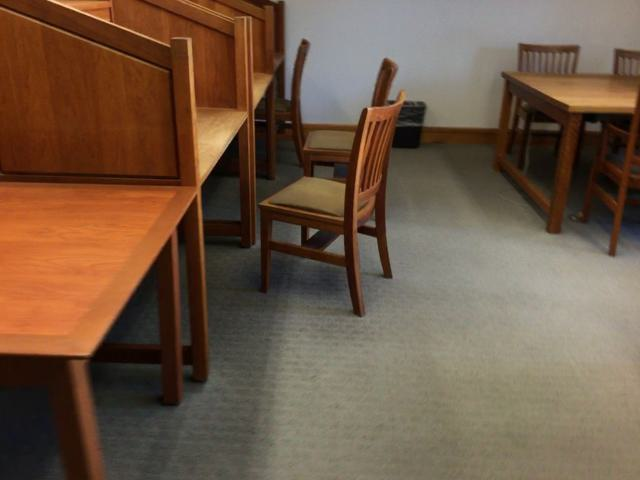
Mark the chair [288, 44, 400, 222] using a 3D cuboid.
[{"bbox_3d":[0.120,-0.680,3.560,0.590,0.950,0.650,2,22,0],"label":"chair"}]

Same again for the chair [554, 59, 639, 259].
[{"bbox_3d":[1.830,-0.460,3.140,0.680,0.920,0.730,2,22,-1],"label":"chair"}]

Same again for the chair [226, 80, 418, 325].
[{"bbox_3d":[0.010,-0.210,2.640,0.650,0.910,0.540,12,24,23],"label":"chair"}]

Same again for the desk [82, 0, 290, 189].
[{"bbox_3d":[-0.860,-1.360,4.320,1.170,1.550,1.500,2,22,0],"label":"desk"}]

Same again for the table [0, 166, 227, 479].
[{"bbox_3d":[-1.280,0.300,1.580,1.870,0.770,1.060,2,22,0],"label":"table"}]

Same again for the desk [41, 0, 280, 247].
[{"bbox_3d":[-0.790,-0.880,3.470,0.990,1.390,1.390,2,22,0],"label":"desk"}]

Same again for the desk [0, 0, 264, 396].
[{"bbox_3d":[-0.880,-0.400,2.430,1.150,1.440,1.420,2,22,0],"label":"desk"}]

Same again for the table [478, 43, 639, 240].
[{"bbox_3d":[2.220,-0.710,3.750,1.880,0.940,1.560,2,22,-1],"label":"table"}]
